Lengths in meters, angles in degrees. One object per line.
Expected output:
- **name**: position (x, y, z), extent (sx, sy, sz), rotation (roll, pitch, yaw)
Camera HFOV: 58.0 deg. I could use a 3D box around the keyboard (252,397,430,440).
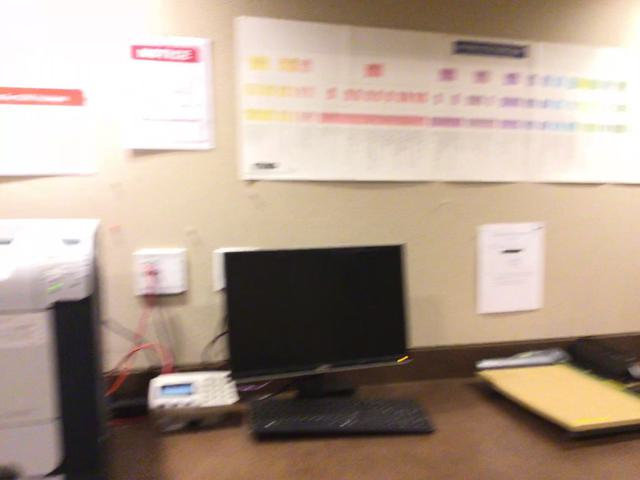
- **keyboard**: position (0.050, 0.440, 1.430), extent (0.420, 0.050, 0.120), rotation (0, 9, 1)
